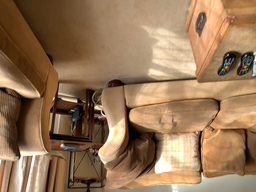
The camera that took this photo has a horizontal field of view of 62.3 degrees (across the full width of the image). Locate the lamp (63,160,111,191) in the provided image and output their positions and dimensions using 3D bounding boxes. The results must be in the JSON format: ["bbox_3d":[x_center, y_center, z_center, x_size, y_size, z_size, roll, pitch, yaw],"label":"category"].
[{"bbox_3d":[-0.410,1.160,2.210,0.390,0.860,0.470,-5,153,3],"label":"lamp"}]

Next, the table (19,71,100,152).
[{"bbox_3d":[-0.590,0.170,1.930,0.560,0.550,0.340,20,145,-39],"label":"table"}]
